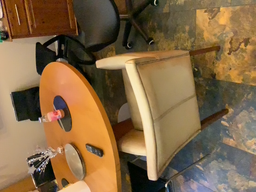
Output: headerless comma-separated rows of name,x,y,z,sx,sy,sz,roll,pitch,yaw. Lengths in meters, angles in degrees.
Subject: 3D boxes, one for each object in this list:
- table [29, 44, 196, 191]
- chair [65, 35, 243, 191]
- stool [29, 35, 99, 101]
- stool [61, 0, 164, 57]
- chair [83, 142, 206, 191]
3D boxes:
table,-0.180,0.480,2.010,1.190,0.760,1.720,22,121,44
chair,0.200,0.010,1.290,0.580,0.850,0.580,3,108,50
stool,-0.780,-0.370,2.560,0.650,0.530,0.440,41,134,32
stool,-0.110,-0.610,1.620,0.470,0.580,0.530,12,114,48
chair,0.160,0.760,1.680,0.500,0.810,0.410,3,108,50
